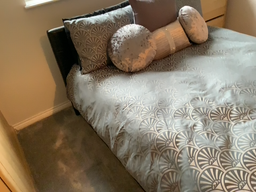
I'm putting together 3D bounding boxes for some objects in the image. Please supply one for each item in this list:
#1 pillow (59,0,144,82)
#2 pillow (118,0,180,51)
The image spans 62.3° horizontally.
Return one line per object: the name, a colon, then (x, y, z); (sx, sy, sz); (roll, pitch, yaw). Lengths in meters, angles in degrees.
pillow: (-0.190, -0.450, 1.710); (0.530, 0.420, 0.180); (-36, 42, -11)
pillow: (0.180, -0.600, 1.650); (0.460, 0.310, 0.130); (-30, 41, -18)
